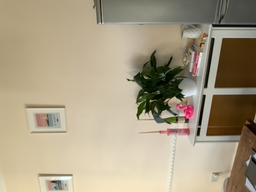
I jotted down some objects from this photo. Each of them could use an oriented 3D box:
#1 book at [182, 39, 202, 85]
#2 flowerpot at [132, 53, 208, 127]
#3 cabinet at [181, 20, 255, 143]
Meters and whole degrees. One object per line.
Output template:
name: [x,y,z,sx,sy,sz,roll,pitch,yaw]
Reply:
book: [0.610,-0.330,2.060,0.150,0.090,0.420,-95,5,-65]
flowerpot: [0.350,-0.090,2.080,0.600,0.570,0.540,-96,6,-68]
cabinet: [1.060,-0.120,2.130,0.320,0.840,1.190,-95,6,-67]
